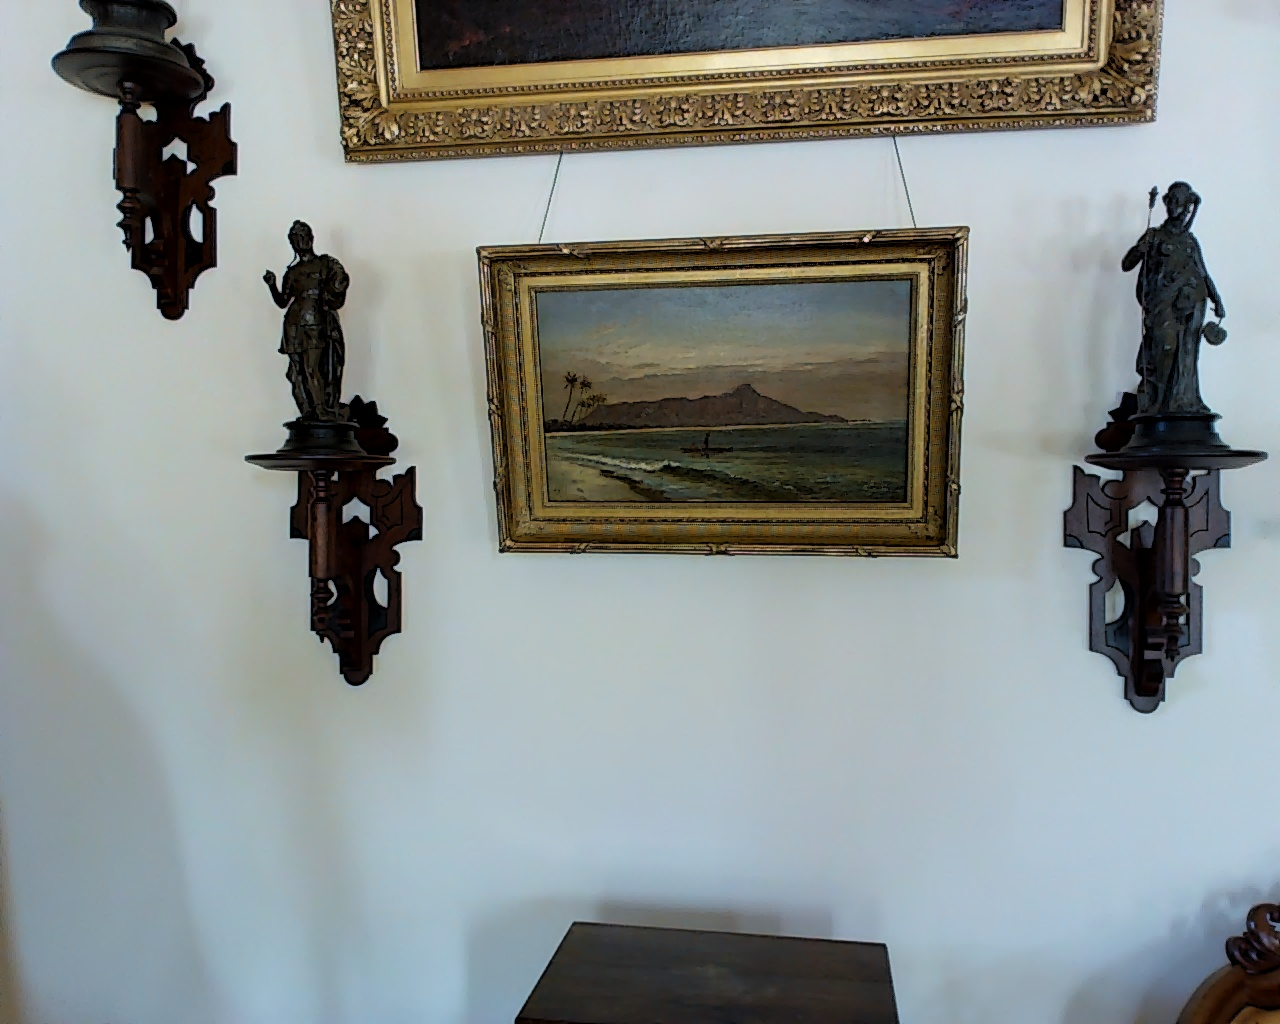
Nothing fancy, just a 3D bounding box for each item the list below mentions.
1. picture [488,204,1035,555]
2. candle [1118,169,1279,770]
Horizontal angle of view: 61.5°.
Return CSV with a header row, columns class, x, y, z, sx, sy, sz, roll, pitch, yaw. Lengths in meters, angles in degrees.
class,x,y,z,sx,sy,sz,roll,pitch,yaw
picture,0.160,-0.180,1.520,0.720,0.460,0.090,1,16,11
candle,0.740,-0.050,1.360,0.200,0.700,0.210,1,0,11
